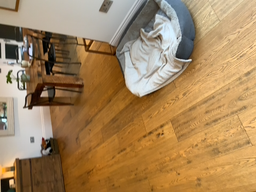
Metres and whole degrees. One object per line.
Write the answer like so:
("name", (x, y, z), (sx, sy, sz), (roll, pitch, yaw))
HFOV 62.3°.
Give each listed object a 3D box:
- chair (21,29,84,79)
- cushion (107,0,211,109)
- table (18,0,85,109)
("chair", (-1.370, -0.710, 3.810), (0.570, 0.910, 0.540), (-42, 56, 47))
("cushion", (0.190, -0.440, 2.100), (1.070, 0.190, 0.740), (-44, 55, 46))
("table", (-1.720, -1.330, 4.430), (1.040, 0.780, 3.020), (-42, 56, 47))
